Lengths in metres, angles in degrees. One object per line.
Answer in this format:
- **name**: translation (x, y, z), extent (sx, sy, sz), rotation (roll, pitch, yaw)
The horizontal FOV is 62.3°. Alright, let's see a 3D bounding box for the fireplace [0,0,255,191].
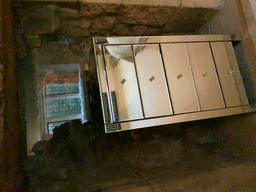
- **fireplace**: translation (0.010, -0.100, 1.480), extent (1.020, 1.780, 2.130), rotation (147, 117, -71)
